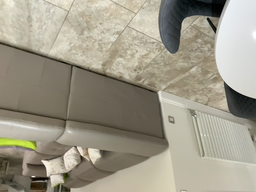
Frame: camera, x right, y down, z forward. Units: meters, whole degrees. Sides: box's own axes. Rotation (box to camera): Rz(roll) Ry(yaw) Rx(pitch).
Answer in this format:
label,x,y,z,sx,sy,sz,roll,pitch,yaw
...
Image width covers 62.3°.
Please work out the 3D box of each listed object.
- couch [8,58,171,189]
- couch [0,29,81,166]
label,x,y,z,sx,sy,sz,roll,pitch,yaw
couch,-0.800,0.720,3.120,1.090,0.800,2.740,18,143,-32
couch,-1.150,0.090,2.010,0.970,0.800,1.070,18,143,-32
